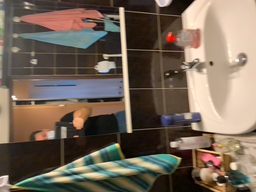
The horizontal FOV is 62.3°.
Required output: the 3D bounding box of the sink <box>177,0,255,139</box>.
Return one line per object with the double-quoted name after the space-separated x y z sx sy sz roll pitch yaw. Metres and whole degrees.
0.450 -0.160 0.950 0.450 0.200 0.650 157 110 -72 "sink"
